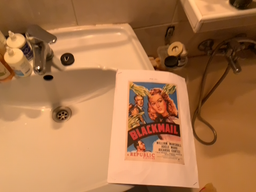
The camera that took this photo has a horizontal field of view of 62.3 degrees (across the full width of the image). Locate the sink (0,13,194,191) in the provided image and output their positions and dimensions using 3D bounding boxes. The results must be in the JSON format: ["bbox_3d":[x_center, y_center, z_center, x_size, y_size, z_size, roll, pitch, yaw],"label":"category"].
[{"bbox_3d":[-0.210,0.060,0.610,0.600,0.220,0.490,-10,64,-7],"label":"sink"}]
